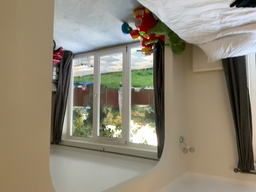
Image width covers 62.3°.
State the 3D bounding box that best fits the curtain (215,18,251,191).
[{"bbox_3d":[1.410,0.090,2.870,0.370,2.180,0.210,-2,176,34],"label":"curtain"}]
